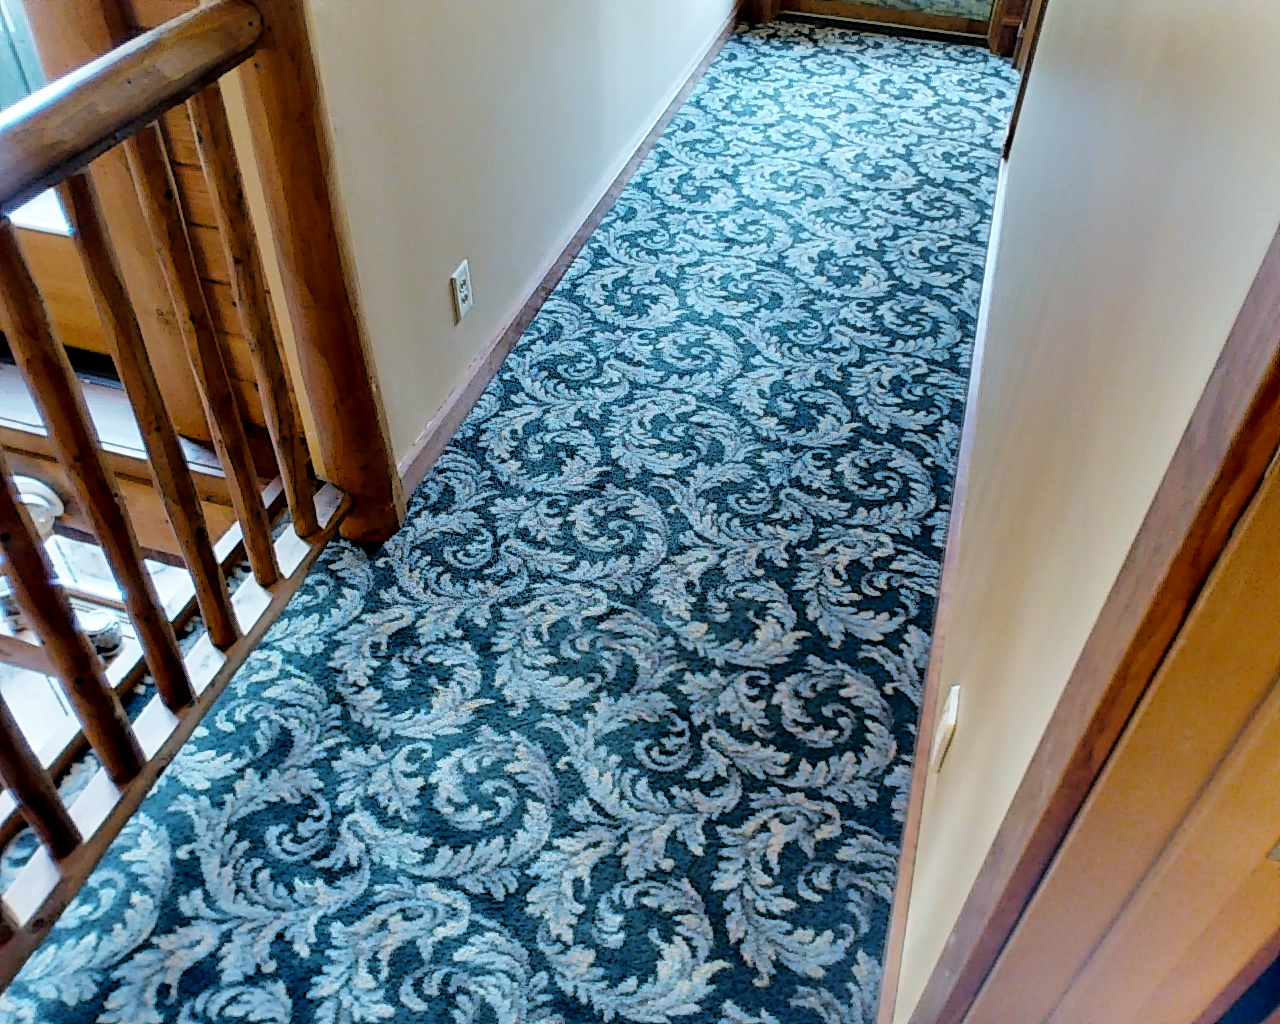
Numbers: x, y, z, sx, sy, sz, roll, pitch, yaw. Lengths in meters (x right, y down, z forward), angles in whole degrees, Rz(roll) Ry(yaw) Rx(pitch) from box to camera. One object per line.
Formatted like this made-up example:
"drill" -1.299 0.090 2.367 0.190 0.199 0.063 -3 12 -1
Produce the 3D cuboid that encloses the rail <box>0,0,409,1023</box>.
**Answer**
"rail" -0.940 0.230 0.990 0.250 1.340 2.430 13 43 11
